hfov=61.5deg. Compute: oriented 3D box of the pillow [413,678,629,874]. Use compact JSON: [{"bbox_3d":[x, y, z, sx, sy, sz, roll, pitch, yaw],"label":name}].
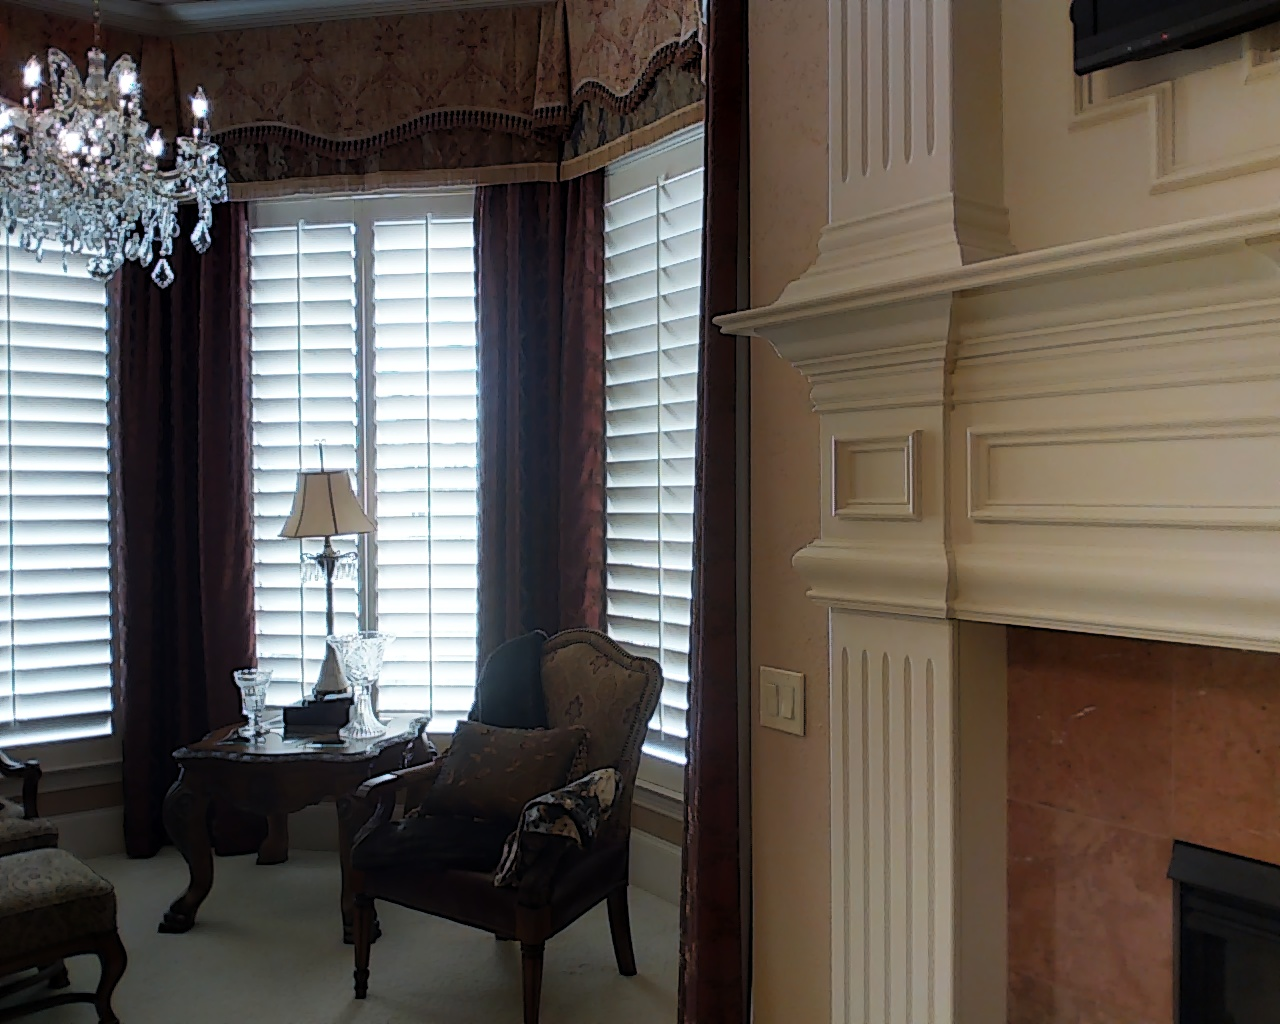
[{"bbox_3d":[-0.380,0.820,3.410,0.590,0.150,0.340,25,57,31],"label":"pillow"}]
